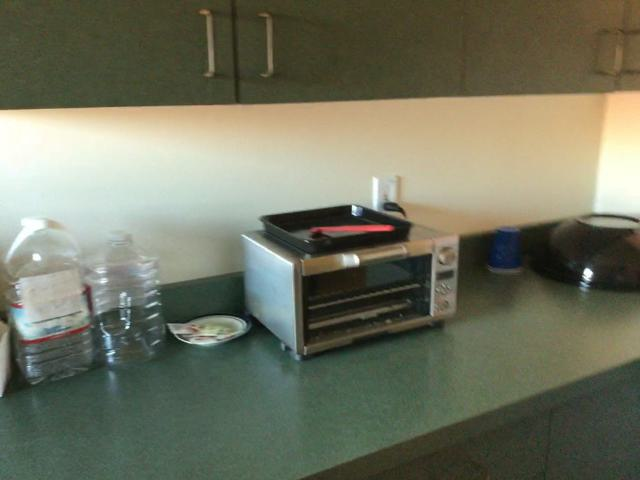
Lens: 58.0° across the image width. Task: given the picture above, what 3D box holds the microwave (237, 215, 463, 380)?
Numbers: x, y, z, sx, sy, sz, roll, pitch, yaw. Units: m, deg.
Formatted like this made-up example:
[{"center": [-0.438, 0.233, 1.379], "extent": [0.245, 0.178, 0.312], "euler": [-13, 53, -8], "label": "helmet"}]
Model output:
[{"center": [0.060, 0.100, 1.290], "extent": [0.370, 0.200, 0.320], "euler": [-16, 16, -25], "label": "microwave"}]
